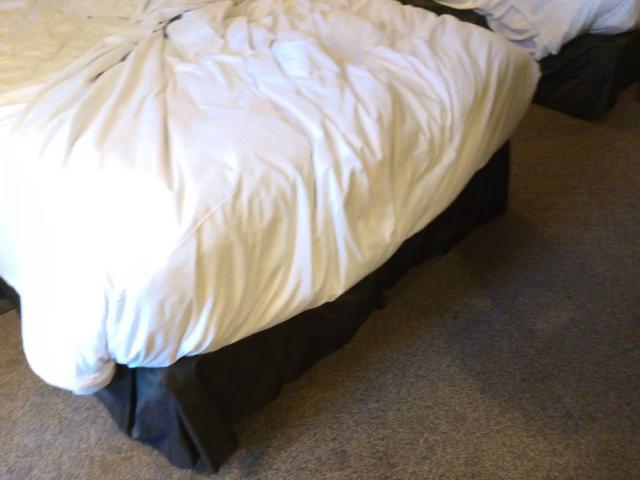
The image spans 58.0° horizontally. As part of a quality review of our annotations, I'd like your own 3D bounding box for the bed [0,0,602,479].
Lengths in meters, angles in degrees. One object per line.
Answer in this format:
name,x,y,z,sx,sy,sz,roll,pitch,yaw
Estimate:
bed,-0.530,-0.780,1.780,2.140,1.590,1.830,28,47,31
